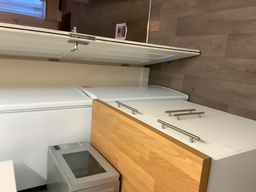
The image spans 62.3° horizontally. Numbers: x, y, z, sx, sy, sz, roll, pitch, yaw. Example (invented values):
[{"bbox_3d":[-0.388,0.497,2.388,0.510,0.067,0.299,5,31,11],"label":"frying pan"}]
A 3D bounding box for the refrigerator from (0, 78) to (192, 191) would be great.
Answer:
[{"bbox_3d":[-0.380,0.220,1.660,0.640,1.710,0.610,23,110,56],"label":"refrigerator"}]

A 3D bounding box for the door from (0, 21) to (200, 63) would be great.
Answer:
[{"bbox_3d":[-0.450,-0.350,1.500,0.700,2.010,0.050,4,95,58],"label":"door"}]
